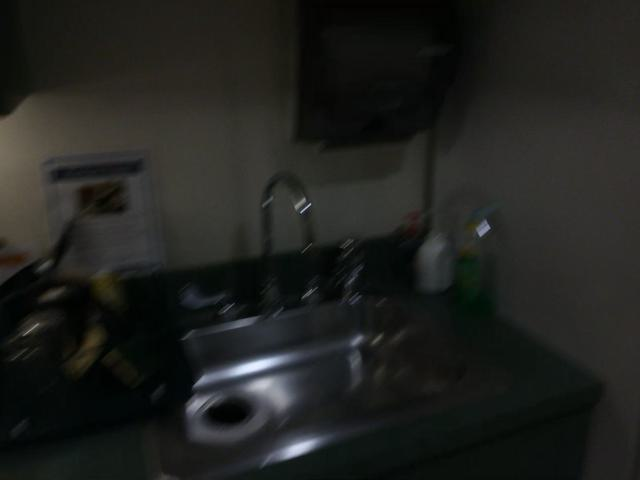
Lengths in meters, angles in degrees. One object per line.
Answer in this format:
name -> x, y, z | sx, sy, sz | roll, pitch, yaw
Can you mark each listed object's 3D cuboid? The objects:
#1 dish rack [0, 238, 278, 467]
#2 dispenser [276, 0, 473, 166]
dish rack -> -0.370, 0.170, 1.080 | 0.480, 0.190, 0.390 | -7, 20, -22
dispenser -> 0.100, -0.350, 1.240 | 0.320, 0.320, 0.260 | -7, 20, -22
